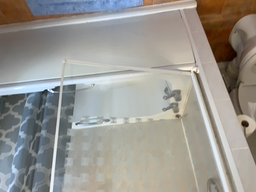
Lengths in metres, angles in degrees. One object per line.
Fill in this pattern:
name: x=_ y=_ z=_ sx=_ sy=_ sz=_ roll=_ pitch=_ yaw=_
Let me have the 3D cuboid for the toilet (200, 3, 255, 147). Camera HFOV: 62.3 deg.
toilet: x=0.970 y=-0.150 z=1.610 sx=0.460 sy=0.850 sz=0.650 roll=-5 pitch=149 yaw=0
